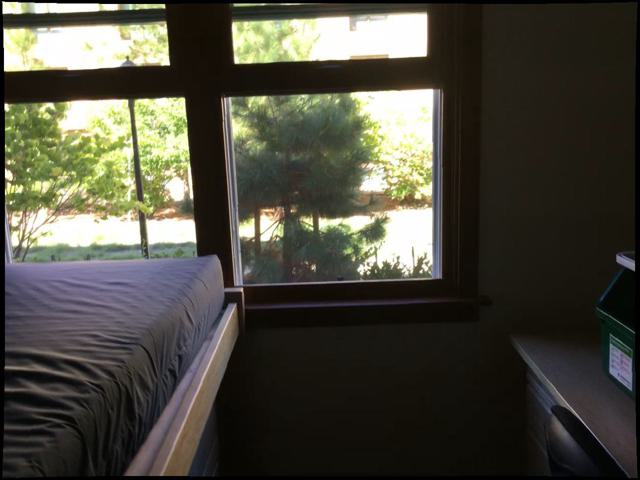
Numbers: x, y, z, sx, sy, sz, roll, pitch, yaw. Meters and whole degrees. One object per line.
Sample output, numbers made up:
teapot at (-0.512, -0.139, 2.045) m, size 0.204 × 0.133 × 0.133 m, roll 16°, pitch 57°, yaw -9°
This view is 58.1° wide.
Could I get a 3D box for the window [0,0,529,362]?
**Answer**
window at (-0.339, -0.251, 1.920) m, size 1.925 × 1.203 × 0.320 m, roll -2°, pitch 12°, yaw 0°
